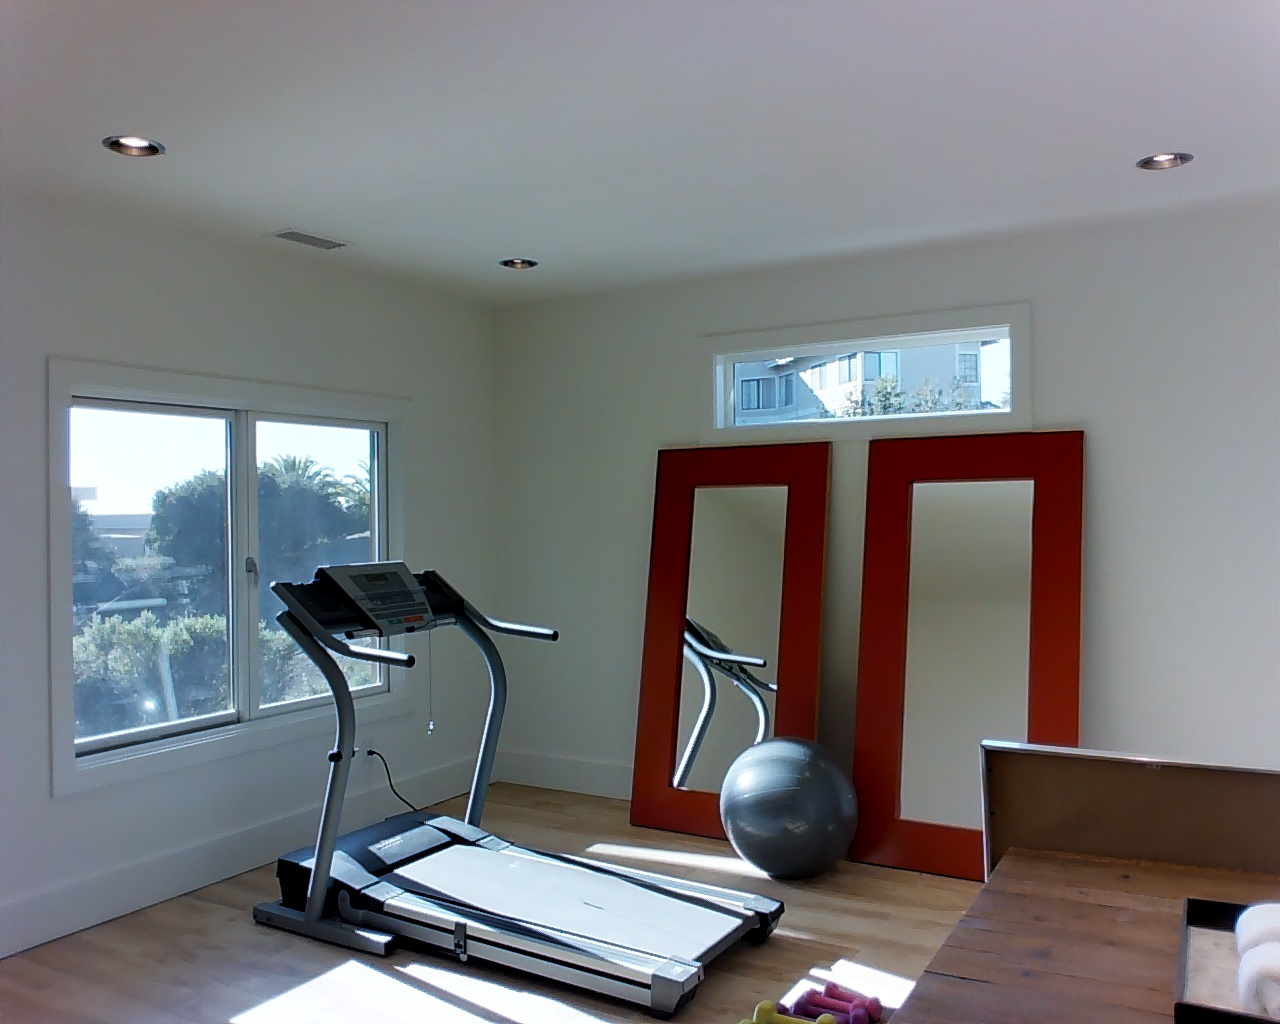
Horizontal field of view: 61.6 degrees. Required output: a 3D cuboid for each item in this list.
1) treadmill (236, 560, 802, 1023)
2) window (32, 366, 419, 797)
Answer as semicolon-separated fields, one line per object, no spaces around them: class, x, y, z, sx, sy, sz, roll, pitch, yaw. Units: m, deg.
treadmill;-0.470;0.890;4.060;1.870;1.360;1.010;-1;0;31
window;-1.740;0.250;4.880;0.130;1.610;1.940;-1;0;31
